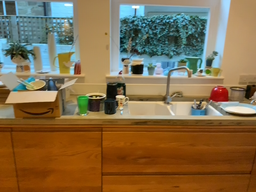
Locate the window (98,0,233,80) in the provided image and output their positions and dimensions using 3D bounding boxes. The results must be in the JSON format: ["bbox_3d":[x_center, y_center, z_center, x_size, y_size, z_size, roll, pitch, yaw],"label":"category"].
[{"bbox_3d":[0.340,-0.960,2.090,1.240,1.540,0.380,1,17,-3],"label":"window"}]

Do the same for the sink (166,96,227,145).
[{"bbox_3d":[0.560,0.190,1.840,0.340,0.260,0.460,1,17,-4],"label":"sink"}]
